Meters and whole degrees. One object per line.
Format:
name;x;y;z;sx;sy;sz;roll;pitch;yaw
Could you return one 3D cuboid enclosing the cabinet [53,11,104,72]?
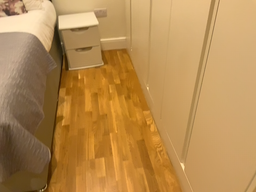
cabinet;-0.560;-0.650;2.500;0.460;0.510;0.480;-7;38;-7
